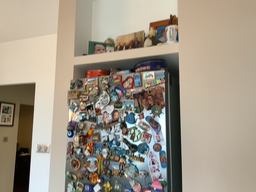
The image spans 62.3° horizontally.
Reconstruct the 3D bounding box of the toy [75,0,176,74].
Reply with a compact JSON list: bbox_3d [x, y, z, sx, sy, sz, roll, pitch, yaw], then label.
[{"bbox_3d":[-0.010,-0.340,1.320,0.550,0.290,0.290,-4,-10,25],"label":"toy"}]
